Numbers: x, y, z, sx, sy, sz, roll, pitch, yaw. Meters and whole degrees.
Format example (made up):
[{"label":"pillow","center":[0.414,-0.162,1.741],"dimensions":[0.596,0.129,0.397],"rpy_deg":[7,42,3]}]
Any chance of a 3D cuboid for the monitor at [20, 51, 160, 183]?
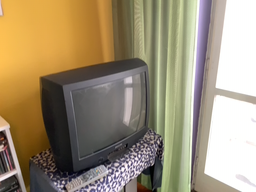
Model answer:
[{"label":"monitor","center":[-0.170,0.040,1.120],"dimensions":[0.560,0.450,0.380],"rpy_deg":[-18,27,-38]}]
